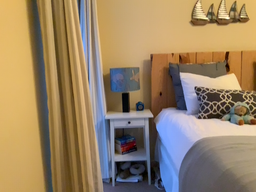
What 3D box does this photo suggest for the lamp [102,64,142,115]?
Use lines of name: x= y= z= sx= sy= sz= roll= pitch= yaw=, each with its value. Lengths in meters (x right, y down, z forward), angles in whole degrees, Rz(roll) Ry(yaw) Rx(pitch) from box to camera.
lamp: x=-0.050 y=-0.080 z=2.170 sx=0.360 sy=0.470 sz=0.340 roll=-2 pitch=8 yaw=1
